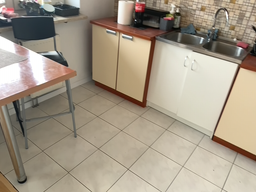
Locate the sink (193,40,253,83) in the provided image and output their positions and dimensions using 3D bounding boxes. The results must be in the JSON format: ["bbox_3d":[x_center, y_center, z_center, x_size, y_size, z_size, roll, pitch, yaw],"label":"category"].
[{"bbox_3d":[0.910,-0.350,2.020,0.370,0.190,0.490,26,37,29],"label":"sink"}]

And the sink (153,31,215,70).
[{"bbox_3d":[0.590,-0.500,2.210,0.430,0.190,0.490,26,37,29],"label":"sink"}]

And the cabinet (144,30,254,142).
[{"bbox_3d":[0.700,-0.150,2.280,0.800,0.840,0.530,26,37,29],"label":"cabinet"}]

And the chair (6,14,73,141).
[{"bbox_3d":[-0.760,-0.160,1.890,0.390,0.990,0.460,-10,35,-25],"label":"chair"}]
